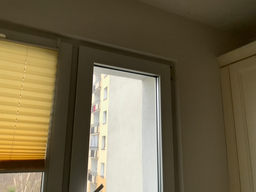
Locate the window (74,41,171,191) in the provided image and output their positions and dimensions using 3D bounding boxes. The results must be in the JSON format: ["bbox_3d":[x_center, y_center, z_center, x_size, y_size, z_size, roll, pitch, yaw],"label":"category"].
[{"bbox_3d":[-0.010,0.450,1.000,0.470,1.360,0.110,9,-15,-31],"label":"window"}]
